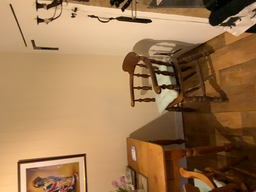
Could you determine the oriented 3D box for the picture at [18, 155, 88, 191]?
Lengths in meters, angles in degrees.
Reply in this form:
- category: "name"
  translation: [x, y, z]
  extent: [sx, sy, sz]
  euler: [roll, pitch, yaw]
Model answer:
- category: "picture"
  translation: [-0.710, 0.990, 2.070]
  extent: [0.020, 0.640, 0.730]
  euler: [161, 107, -70]
